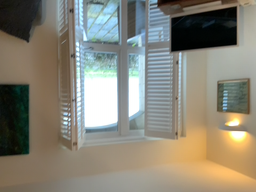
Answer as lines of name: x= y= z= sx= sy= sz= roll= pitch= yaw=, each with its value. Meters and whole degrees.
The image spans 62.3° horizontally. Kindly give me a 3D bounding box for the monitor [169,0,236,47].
monitor: x=0.810 y=-0.820 z=2.370 sx=0.710 sy=0.470 sz=0.040 roll=1 pitch=-178 yaw=28
